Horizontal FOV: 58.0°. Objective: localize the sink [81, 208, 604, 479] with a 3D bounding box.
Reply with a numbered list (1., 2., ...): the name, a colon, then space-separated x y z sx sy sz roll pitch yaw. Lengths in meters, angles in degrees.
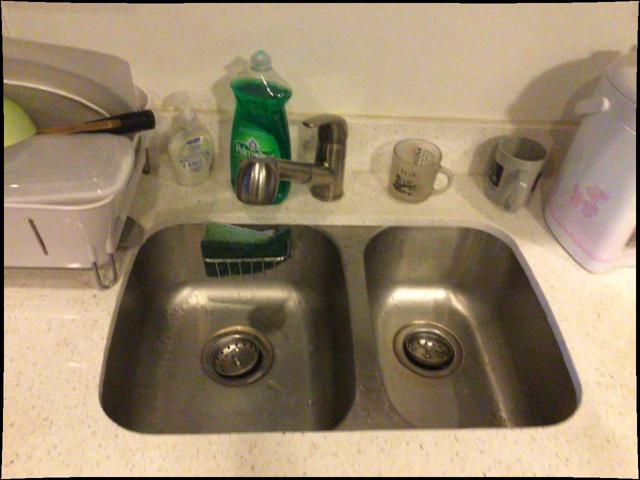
1. sink: 0.020 0.150 0.900 0.638 0.200 0.380 0 44 -7
